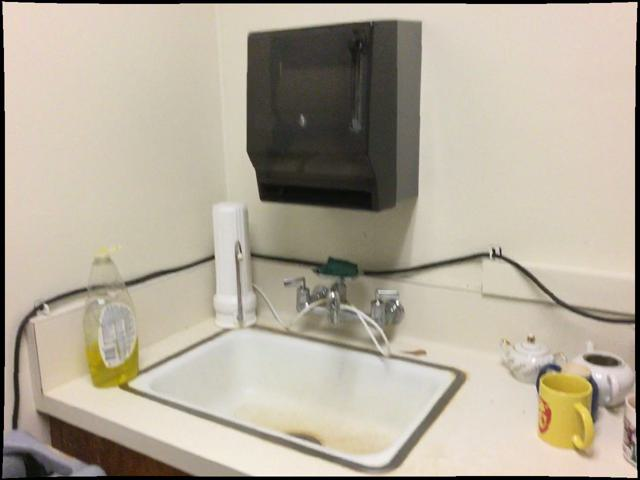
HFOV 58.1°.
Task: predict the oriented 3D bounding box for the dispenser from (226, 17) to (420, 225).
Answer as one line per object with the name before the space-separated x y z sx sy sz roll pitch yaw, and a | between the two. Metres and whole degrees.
dispenser | 0.010 -0.261 1.300 0.339 0.391 0.260 7 13 31

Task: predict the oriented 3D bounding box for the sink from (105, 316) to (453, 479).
sink | -0.090 0.371 1.320 0.659 0.170 0.430 7 13 31

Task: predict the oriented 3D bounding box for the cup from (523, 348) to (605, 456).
cup | 0.439 0.281 1.030 0.100 0.100 0.190 7 13 31
